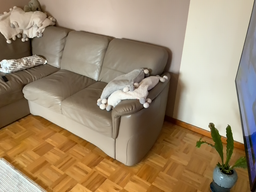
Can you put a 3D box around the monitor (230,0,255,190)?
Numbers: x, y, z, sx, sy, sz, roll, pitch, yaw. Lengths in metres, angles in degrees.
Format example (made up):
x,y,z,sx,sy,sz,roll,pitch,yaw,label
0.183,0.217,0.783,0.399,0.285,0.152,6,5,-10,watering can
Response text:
x,y,z,sx,sy,sz,roll,pitch,yaw,label
0.730,-0.160,1.230,0.050,0.650,1.200,14,32,17,monitor
